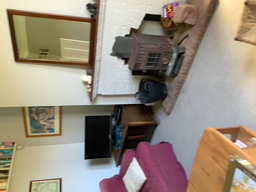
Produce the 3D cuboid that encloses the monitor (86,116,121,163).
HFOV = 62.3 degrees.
[{"bbox_3d":[-0.380,0.670,3.310,0.040,0.520,0.690,176,93,-72],"label":"monitor"}]

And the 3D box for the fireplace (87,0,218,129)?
[{"bbox_3d":[0.130,-0.450,2.460,0.570,1.050,1.670,-113,28,-49],"label":"fireplace"}]
